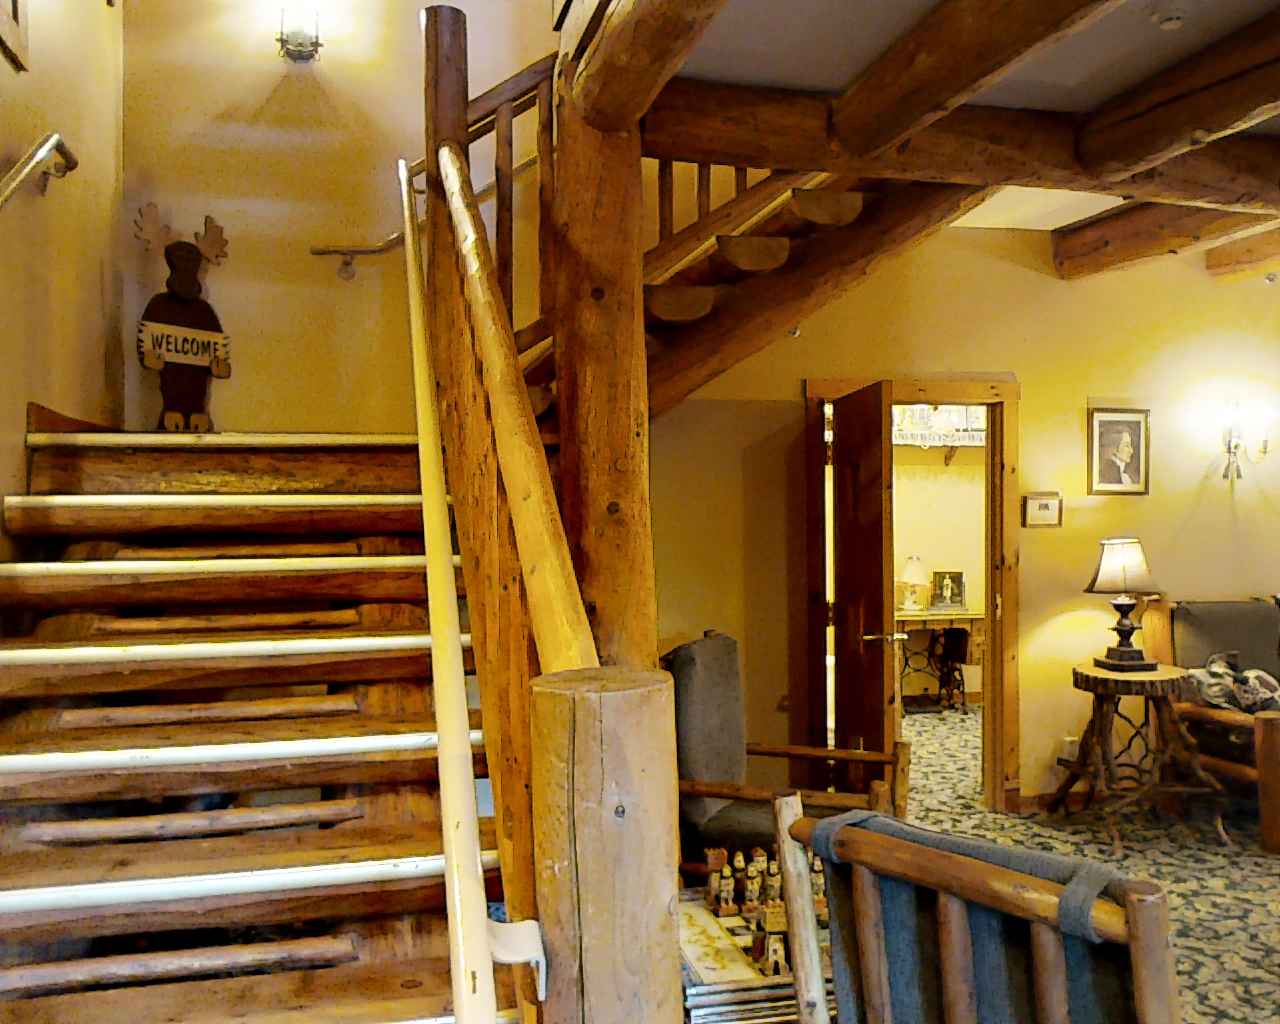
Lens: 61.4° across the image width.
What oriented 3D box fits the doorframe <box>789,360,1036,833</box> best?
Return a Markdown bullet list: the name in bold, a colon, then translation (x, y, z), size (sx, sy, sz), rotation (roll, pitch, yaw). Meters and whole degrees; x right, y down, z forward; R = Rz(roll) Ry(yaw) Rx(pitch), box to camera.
- **doorframe**: translation (1.350, 0.390, 5.320), size (1.190, 2.221, 0.250), rotation (-1, 0, -14)
